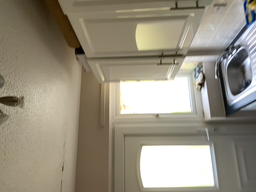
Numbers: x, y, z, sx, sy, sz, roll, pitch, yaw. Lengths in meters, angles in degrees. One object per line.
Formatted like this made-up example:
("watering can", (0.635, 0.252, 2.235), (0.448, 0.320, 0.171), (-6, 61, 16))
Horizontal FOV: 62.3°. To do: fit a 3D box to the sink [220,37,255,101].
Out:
("sink", (1.020, -0.210, 1.840), (0.430, 0.220, 0.410), (87, -178, -73))
